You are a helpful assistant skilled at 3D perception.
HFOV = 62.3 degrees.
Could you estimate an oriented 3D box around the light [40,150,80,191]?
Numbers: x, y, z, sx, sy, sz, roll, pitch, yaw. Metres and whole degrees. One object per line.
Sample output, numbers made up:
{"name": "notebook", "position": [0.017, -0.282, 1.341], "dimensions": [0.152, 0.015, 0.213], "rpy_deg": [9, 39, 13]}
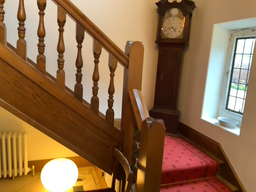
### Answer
{"name": "light", "position": [-0.870, 0.950, 2.670], "dimensions": [0.440, 0.320, 0.470], "rpy_deg": [0, 12, -22]}
